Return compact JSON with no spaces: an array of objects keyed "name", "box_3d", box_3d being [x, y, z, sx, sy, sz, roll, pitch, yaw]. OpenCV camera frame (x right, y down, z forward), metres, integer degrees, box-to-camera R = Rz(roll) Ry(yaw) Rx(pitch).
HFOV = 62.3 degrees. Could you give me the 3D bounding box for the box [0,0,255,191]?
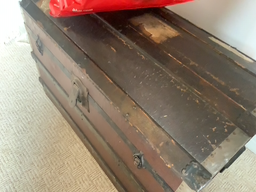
[{"name":"box","box_3d":[0.000,-0.060,0.900,0.620,0.660,0.840,-32,60,-30]}]
